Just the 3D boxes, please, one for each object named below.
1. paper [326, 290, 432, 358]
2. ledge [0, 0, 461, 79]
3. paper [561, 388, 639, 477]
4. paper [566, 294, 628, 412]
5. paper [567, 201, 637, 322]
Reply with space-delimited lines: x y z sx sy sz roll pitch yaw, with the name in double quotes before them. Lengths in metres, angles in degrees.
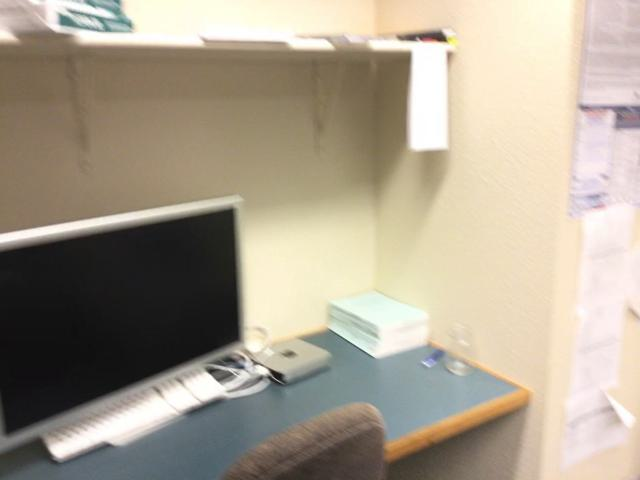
"paper" 0.190 0.270 1.920 0.200 0.130 0.300 -9 9 -31
"ledge" -0.460 -0.450 1.200 1.840 0.170 0.240 -9 9 -31
"paper" 0.770 0.520 1.580 0.250 0.150 0.070 -9 9 -31
"paper" 0.750 0.300 1.560 0.210 0.270 0.040 -9 9 -31
"paper" 0.740 0.050 1.510 0.220 0.280 0.050 -9 9 -31
